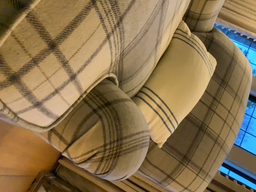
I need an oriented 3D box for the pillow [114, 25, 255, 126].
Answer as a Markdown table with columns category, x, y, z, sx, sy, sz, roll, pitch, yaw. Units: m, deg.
| category | x | y | z | sx | sy | sz | roll | pitch | yaw |
| --- | --- | --- | --- | --- | --- | --- | --- | --- | --- |
| pillow | 0.190 | -0.070 | 0.790 | 0.440 | 0.270 | 0.150 | -10 | 164 | -2 |
